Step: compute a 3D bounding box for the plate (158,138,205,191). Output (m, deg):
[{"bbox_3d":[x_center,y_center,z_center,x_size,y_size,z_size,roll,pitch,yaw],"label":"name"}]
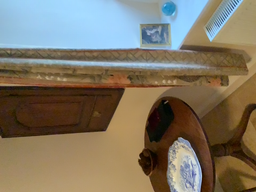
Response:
[{"bbox_3d":[0.310,0.470,1.270,0.320,0.040,0.340,123,140,-56],"label":"plate"}]
